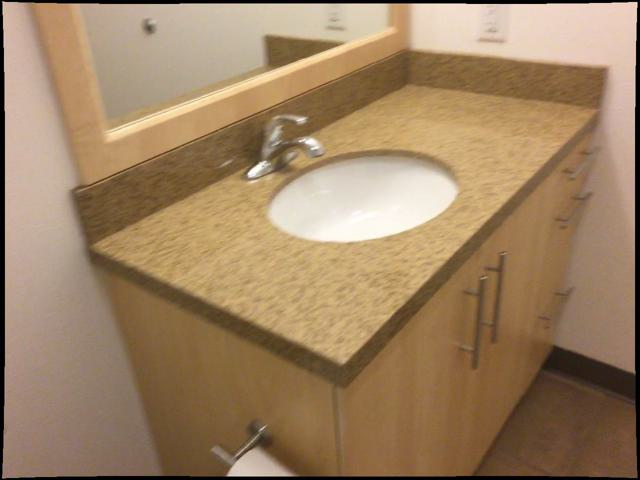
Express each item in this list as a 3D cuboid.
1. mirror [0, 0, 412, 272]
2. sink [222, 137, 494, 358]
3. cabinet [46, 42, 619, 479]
[{"bbox_3d":[-0.110,-0.411,1.280,0.060,0.481,1.110,20,41,34],"label":"mirror"},{"bbox_3d":[0.090,-0.020,1.200,0.369,0.180,0.420,20,41,34],"label":"sink"},{"bbox_3d":[0.160,0.170,1.420,0.589,0.952,1.140,20,41,34],"label":"cabinet"}]
